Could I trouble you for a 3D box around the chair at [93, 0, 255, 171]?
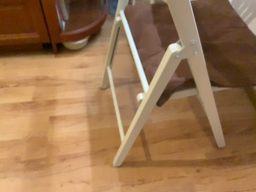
[{"bbox_3d":[0.170,-0.140,0.740,0.520,0.770,0.460,-7,54,-11],"label":"chair"}]
